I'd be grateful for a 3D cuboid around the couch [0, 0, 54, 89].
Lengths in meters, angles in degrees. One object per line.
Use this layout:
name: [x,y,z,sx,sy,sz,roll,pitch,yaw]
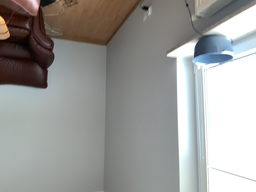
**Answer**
couch: [-2.040,-0.680,2.650,2.050,0.940,1.050,3,173,-19]
